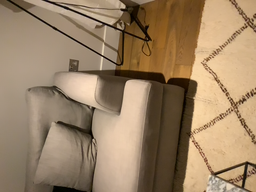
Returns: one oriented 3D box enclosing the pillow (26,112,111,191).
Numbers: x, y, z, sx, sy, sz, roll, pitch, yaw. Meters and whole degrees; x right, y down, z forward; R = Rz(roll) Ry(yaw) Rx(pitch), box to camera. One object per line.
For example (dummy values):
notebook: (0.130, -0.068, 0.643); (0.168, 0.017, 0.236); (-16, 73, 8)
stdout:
pillow: (-0.430, 0.440, 1.580); (0.200, 0.410, 0.510); (17, 84, 51)

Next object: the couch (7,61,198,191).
couch: (-0.380, 1.280, 1.700); (1.030, 0.930, 2.950); (14, 98, 50)
